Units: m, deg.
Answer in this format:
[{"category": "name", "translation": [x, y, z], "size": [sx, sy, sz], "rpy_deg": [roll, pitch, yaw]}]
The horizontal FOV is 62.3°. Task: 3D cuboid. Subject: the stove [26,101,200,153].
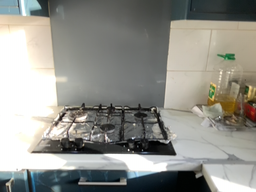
[{"category": "stove", "translation": [-0.060, 0.130, 1.090], "size": [0.690, 0.030, 0.520], "rpy_deg": [1, 18, -1]}]
